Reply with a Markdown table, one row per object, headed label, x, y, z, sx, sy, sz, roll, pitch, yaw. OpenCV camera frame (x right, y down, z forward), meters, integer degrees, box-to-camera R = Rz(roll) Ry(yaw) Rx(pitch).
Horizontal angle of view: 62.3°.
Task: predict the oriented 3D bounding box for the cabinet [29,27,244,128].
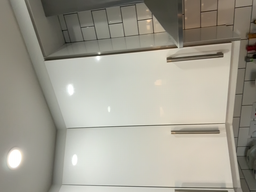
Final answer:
| label | x | y | z | sx | sy | sz | roll | pitch | yaw |
| --- | --- | --- | --- | --- | --- | --- | --- | --- | --- |
| cabinet | 0.050 | -0.110 | 1.430 | 0.360 | 1.190 | 0.510 | -72 | -24 | -62 |
